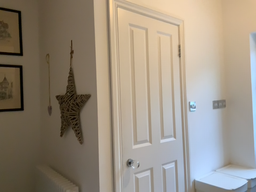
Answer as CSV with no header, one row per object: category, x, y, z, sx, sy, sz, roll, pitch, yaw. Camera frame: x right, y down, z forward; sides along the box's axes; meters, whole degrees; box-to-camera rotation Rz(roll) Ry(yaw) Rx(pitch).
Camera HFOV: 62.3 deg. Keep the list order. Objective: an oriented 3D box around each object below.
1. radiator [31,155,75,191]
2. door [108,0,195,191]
radiator,-0.680,0.980,1.840,0.090,0.730,0.960,-1,-1,-36
door,0.240,0.260,1.720,0.850,1.950,0.080,-1,-1,-38
